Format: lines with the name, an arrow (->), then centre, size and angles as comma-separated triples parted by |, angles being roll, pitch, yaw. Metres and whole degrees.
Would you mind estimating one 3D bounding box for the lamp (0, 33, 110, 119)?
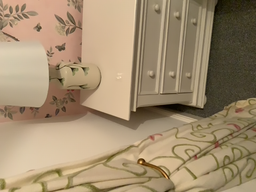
lamp -> -0.300, -0.080, 0.820 | 0.200, 0.410, 0.250 | 13, 103, 48
